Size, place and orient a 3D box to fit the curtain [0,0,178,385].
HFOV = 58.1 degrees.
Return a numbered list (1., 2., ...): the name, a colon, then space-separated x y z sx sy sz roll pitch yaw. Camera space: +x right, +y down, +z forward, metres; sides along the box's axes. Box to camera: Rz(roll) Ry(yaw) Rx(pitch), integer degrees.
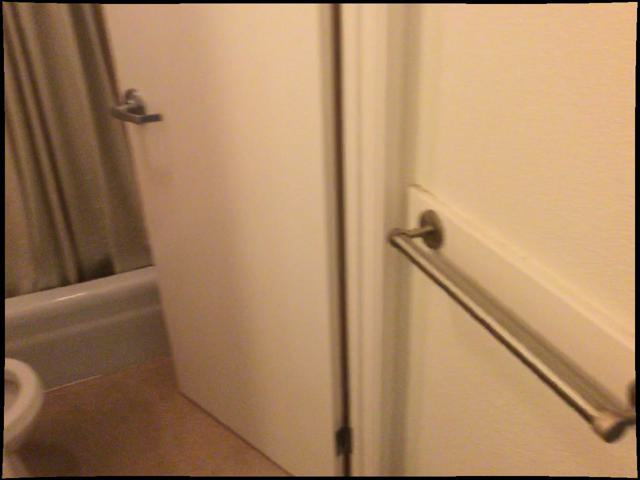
1. curtain: -0.908 -0.221 1.870 0.599 1.413 0.270 -14 34 -18
